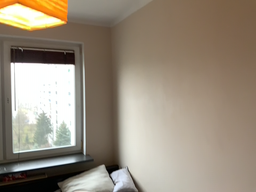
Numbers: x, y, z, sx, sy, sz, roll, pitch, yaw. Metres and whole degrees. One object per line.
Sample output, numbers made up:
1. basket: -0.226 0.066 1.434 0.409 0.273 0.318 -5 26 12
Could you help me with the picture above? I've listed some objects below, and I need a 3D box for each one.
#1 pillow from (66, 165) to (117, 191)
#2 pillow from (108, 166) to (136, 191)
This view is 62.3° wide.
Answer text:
1. pillow: -0.420 0.950 2.340 0.480 0.170 0.440 -1 2 -21
2. pillow: -0.080 0.950 2.380 0.200 0.160 0.410 -1 2 -20
